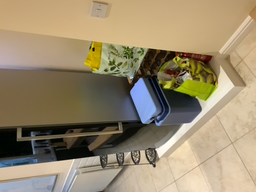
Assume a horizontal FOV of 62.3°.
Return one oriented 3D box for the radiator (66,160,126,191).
[{"bbox_3d":[-0.580,1.390,3.570,1.120,0.750,0.110,121,142,-46],"label":"radiator"}]
